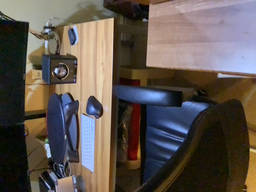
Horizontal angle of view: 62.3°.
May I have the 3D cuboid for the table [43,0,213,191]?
[{"bbox_3d":[-0.060,0.140,1.450,0.790,0.730,1.290,16,108,50],"label":"table"}]
